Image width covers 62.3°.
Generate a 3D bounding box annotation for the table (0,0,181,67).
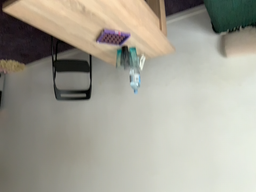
[{"bbox_3d":[-0.130,-0.690,1.500,0.630,0.570,1.160,-9,168,29],"label":"table"}]
